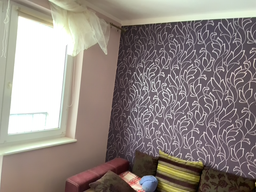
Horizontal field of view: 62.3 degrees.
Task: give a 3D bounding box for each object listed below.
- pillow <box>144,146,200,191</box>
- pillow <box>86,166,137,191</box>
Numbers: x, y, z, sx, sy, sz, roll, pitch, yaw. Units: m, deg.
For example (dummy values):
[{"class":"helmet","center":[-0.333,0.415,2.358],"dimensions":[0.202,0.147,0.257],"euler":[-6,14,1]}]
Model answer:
[{"class":"pillow","center":[0.510,0.930,2.500],"dimensions":[0.480,0.470,0.170],"euler":[26,10,27]},{"class":"pillow","center":[-0.170,0.980,2.310],"dimensions":[0.370,0.230,0.410],"euler":[7,2,30]}]
